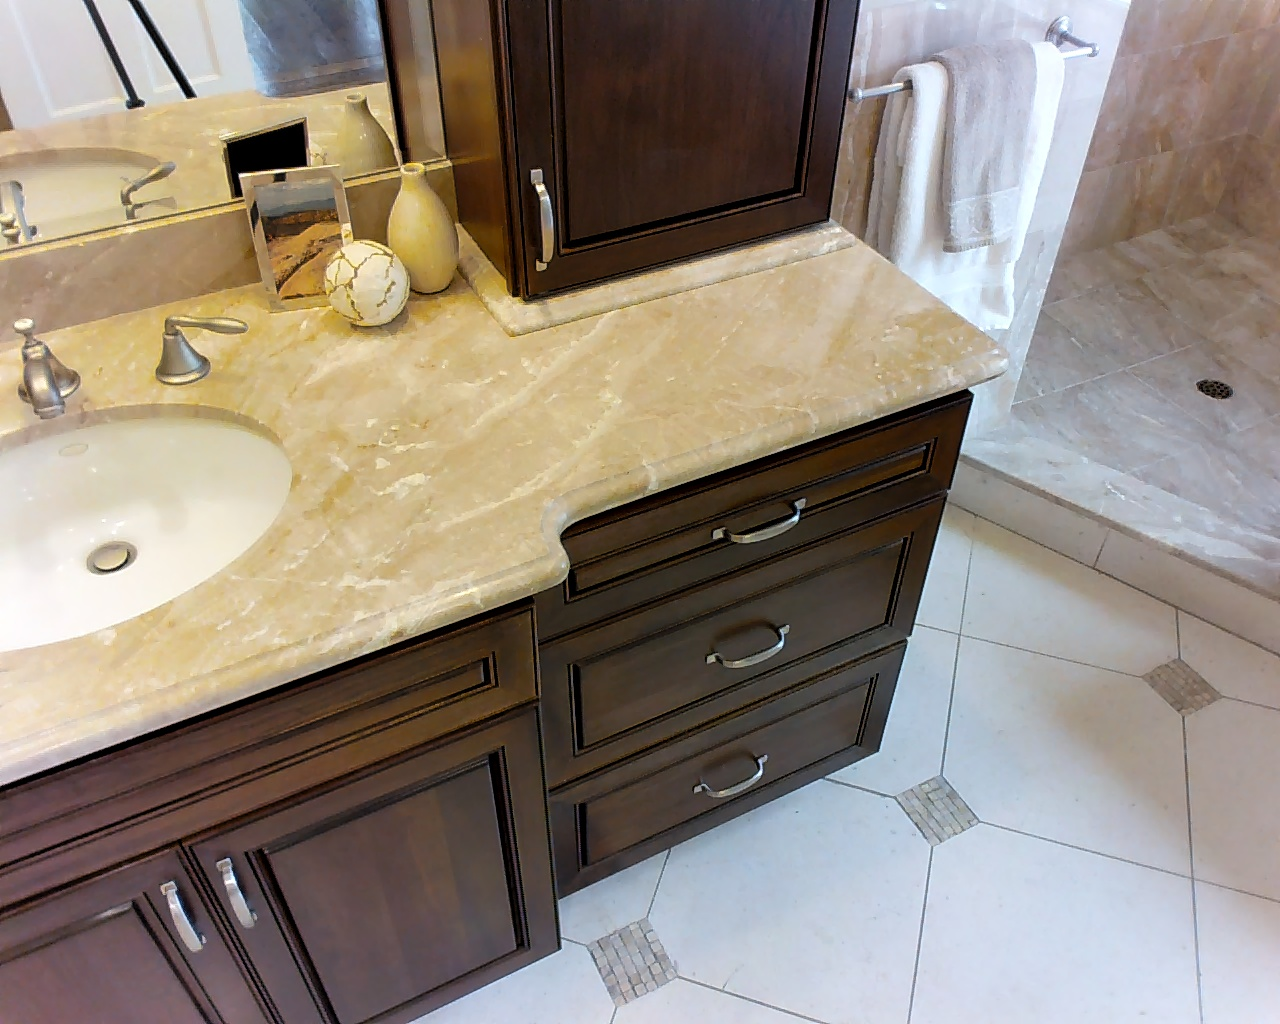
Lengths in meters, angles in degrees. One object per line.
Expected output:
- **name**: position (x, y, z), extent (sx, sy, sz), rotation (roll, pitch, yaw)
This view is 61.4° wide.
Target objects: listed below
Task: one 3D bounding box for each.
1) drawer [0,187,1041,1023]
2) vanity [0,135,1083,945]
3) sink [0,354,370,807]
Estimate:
- **drawer**: position (-0.580, 0.320, 1.390), extent (2.010, 0.870, 0.630), rotation (-19, 46, -20)
- **vanity**: position (-0.560, 0.040, 1.140), extent (2.030, 0.270, 0.640), rotation (-19, 46, -20)
- **sink**: position (-0.560, 0.060, 1.120), extent (0.440, 0.190, 0.360), rotation (-18, 46, -19)
